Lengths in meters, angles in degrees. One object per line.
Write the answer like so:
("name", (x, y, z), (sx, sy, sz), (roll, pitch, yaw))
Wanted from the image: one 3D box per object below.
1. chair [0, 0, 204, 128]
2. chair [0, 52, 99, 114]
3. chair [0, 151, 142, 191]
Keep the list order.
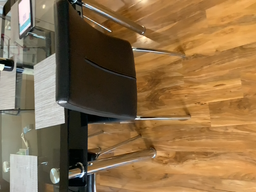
("chair", (-0.070, -0.080, 1.100), (0.520, 0.950, 0.410), (-11, 79, 40))
("chair", (-0.760, -0.050, 1.670), (0.460, 0.970, 0.350), (-10, 80, 40))
("chair", (-0.390, 0.670, 1.290), (0.460, 0.970, 0.520), (-12, 79, 40))
